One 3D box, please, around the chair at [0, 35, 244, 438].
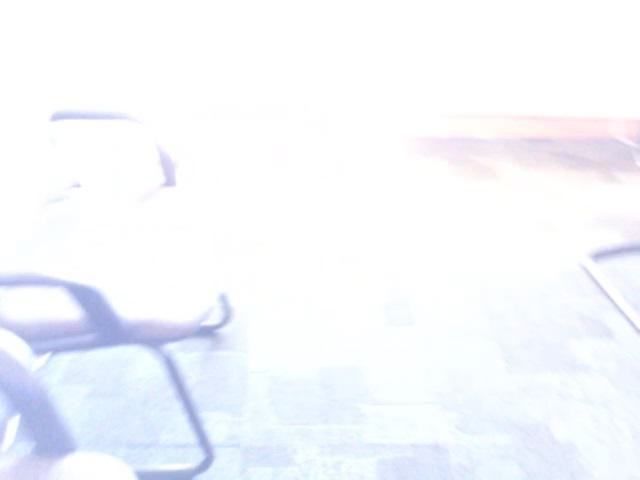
[{"bbox_3d":[-0.510,-0.030,1.200,0.560,0.600,0.590,-1,34,3],"label":"chair"}]
